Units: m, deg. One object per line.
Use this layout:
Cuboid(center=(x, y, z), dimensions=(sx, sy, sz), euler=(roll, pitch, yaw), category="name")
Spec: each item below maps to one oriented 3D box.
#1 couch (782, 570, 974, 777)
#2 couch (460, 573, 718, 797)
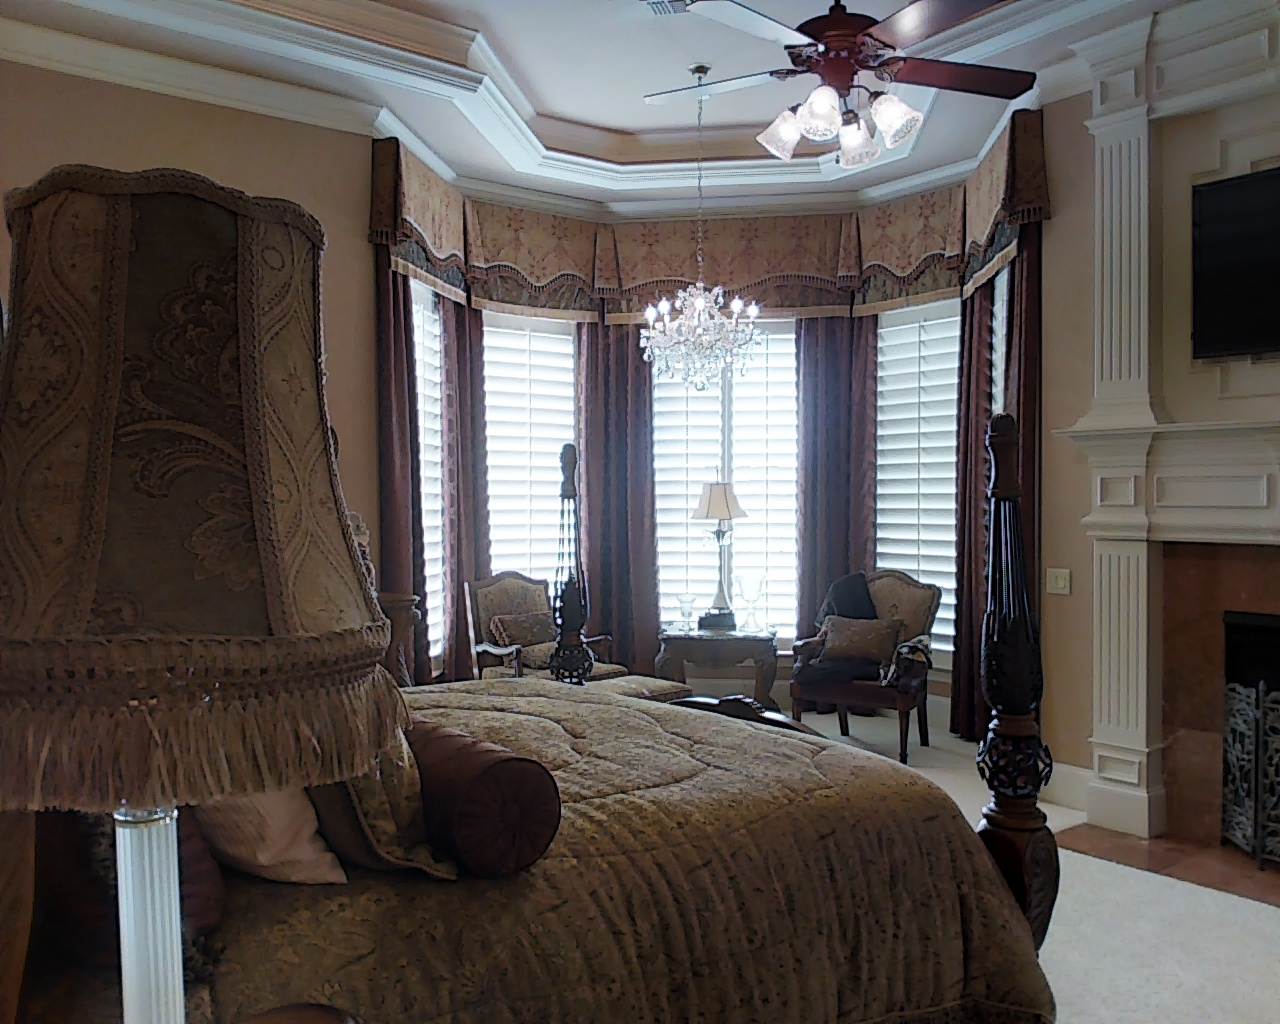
Cuboid(center=(1.469, 0.930, 6.580), dimensions=(0.910, 1.080, 0.900), euler=(0, 0, 31), category="couch")
Cuboid(center=(-0.330, 0.950, 6.420), dimensions=(0.840, 1.080, 1.390), euler=(0, 0, -43), category="couch")
